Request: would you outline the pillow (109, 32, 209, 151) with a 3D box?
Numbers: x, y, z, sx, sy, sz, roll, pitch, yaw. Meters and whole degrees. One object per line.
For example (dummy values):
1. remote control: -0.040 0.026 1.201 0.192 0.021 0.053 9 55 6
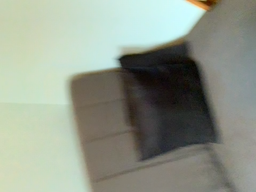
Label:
1. pillow: 0.140 -0.010 0.980 0.140 0.330 0.490 -36 59 23
